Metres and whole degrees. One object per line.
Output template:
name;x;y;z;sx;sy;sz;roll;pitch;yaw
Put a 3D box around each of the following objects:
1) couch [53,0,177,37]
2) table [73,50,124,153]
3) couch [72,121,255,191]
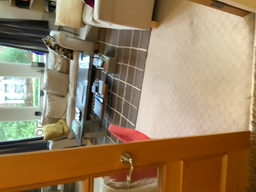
couch;-0.360;-1.390;2.790;2.240;0.770;0.920;34;118;56
table;-0.490;0.080;3.290;0.510;0.460;1.450;33;118;57
couch;0.170;0.720;1.560;0.930;0.920;0.880;8;97;61
